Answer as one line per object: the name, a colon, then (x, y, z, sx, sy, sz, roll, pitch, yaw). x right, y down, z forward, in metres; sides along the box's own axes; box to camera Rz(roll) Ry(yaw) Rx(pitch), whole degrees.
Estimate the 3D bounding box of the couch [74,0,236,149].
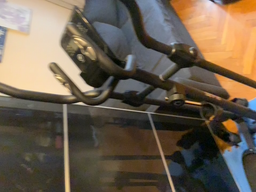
couch: (0.010, -0.650, 2.310, 0.900, 0.770, 2.200, -52, 41, 39)
